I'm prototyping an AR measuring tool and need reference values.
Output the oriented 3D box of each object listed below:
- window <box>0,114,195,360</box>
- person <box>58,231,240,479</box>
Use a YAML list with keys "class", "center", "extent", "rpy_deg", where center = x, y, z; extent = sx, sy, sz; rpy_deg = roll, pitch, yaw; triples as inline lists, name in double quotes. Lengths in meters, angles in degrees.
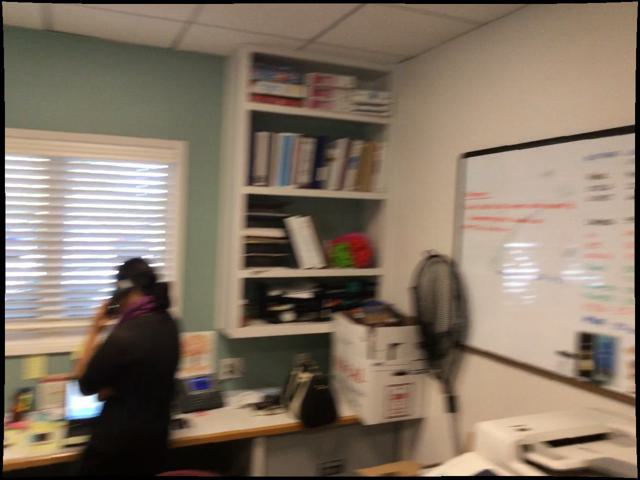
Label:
- class: "window"
  center: [-1.269, -0.020, 2.820]
  extent: [1.249, 1.111, 0.260]
  rpy_deg: [-1, 4, -23]
- class: "person"
  center: [-0.659, 0.721, 2.280]
  extent: [0.639, 1.491, 0.240]
  rpy_deg: [-1, 4, -23]
